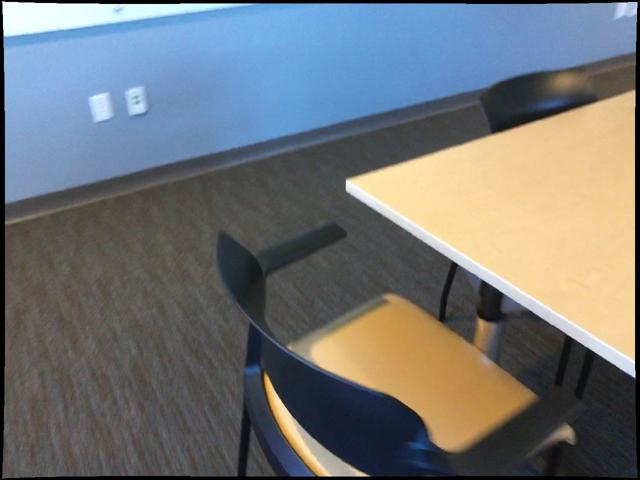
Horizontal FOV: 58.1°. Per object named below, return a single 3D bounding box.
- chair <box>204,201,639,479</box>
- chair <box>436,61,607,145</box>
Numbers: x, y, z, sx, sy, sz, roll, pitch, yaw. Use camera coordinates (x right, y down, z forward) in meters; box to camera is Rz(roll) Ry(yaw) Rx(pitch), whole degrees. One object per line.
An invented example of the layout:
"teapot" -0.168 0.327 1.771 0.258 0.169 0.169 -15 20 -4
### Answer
"chair" 0.160 0.261 1.100 0.529 0.331 0.590 -20 35 -23
"chair" 0.618 -0.431 1.770 0.509 0.100 0.190 -20 35 -23
